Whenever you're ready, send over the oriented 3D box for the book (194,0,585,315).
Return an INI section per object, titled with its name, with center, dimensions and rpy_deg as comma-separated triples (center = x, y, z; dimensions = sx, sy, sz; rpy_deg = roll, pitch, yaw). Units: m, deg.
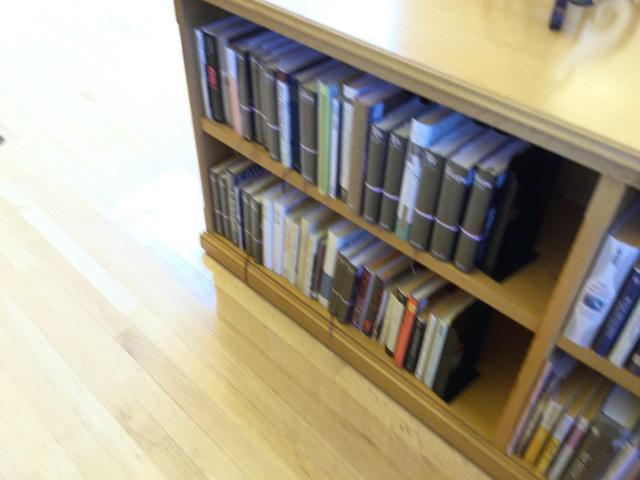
[book]
center = 0.070, -0.210, 1.120
dimensions = 0.740, 0.300, 0.190
rpy_deg = 35, 50, 30
